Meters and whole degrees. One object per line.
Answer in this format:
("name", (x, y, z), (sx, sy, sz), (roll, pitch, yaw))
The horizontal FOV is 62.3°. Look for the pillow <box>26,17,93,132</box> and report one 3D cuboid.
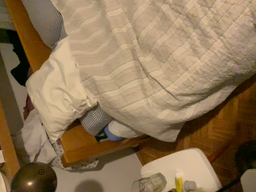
("pillow", (-0.310, -0.080, 0.910), (0.340, 0.140, 0.330), (-47, 45, 37))
